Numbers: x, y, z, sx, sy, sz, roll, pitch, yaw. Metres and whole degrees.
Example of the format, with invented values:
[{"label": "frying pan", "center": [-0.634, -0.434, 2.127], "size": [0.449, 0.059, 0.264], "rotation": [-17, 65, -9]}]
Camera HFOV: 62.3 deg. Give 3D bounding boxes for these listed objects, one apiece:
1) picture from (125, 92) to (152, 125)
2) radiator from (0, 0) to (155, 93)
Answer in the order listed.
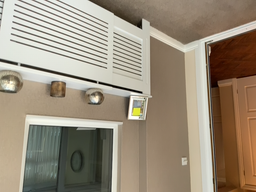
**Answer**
[{"label": "picture", "center": [0.110, 0.130, 2.120], "size": [0.090, 0.250, 0.250], "rotation": [-12, 152, 44]}, {"label": "radiator", "center": [-0.470, -0.550, 1.600], "size": [1.930, 0.770, 0.120], "rotation": [10, 165, -42]}]
